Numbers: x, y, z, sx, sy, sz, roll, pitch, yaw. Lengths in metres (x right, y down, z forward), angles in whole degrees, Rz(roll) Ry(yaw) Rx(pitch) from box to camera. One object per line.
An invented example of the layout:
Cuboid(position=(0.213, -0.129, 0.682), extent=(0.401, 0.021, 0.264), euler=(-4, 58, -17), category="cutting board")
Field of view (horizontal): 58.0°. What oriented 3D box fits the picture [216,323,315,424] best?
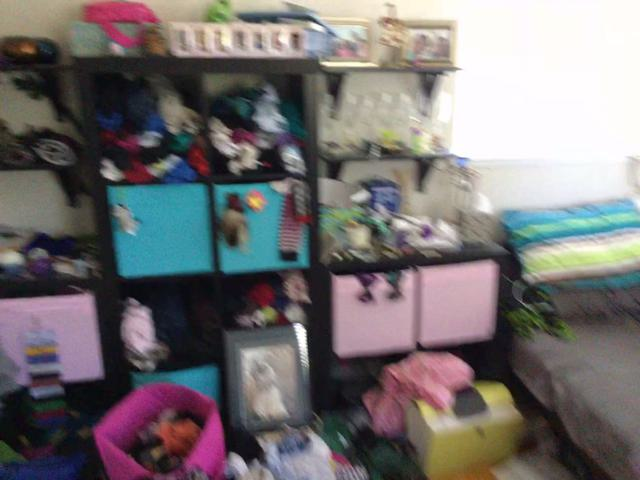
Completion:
Cuboid(position=(-0.210, 0.500, 2.200), extent=(0.350, 0.340, 0.090), euler=(-2, -6, -10), category="picture")
